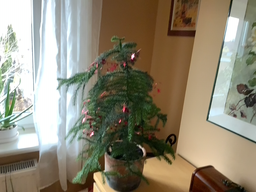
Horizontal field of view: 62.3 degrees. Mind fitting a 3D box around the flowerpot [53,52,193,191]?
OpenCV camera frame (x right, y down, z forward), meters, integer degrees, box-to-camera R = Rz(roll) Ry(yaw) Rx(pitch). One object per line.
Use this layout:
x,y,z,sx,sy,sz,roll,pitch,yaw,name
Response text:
-0.050,0.110,0.810,0.400,0.500,0.300,-3,18,-28,flowerpot
